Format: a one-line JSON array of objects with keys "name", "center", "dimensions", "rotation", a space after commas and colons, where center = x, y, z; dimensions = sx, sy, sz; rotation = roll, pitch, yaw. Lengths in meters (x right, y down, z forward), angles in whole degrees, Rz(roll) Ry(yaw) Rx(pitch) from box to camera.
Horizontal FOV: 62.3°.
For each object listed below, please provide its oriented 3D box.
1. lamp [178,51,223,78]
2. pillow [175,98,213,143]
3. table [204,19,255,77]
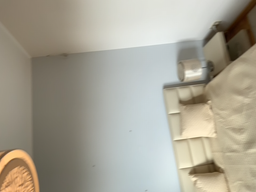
[{"name": "lamp", "center": [0.840, -0.370, 2.510], "dimensions": [0.250, 0.410, 0.200], "rotation": [106, 157, -76]}, {"name": "pillow", "center": [0.730, 0.280, 2.340], "dimensions": [0.180, 0.340, 0.400], "rotation": [138, 145, -63]}, {"name": "table", "center": [1.200, -0.540, 2.480], "dimensions": [0.460, 0.340, 0.480], "rotation": [105, 158, -75]}]
